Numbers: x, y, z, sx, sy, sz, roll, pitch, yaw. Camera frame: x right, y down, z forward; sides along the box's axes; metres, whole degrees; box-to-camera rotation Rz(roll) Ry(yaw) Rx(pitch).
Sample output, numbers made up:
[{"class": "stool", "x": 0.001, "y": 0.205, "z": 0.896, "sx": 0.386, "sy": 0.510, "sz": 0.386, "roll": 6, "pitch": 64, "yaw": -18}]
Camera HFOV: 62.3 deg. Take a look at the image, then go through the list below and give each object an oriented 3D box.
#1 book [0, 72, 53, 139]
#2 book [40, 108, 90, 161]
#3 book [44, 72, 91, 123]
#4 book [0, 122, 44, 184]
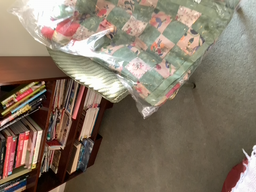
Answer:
[{"class": "book", "x": -0.580, "y": 0.040, "z": 1.170, "sx": 0.210, "sy": 0.190, "sz": 0.270, "roll": 33, "pitch": 117, "yaw": 30}, {"class": "book", "x": -0.460, "y": 0.270, "z": 1.540, "sx": 0.220, "sy": 0.230, "sz": 0.250, "roll": 34, "pitch": 118, "yaw": 30}, {"class": "book", "x": -0.390, "y": 0.000, "z": 1.360, "sx": 0.180, "sy": 0.180, "sz": 0.250, "roll": 33, "pitch": 116, "yaw": 30}, {"class": "book", "x": -0.660, "y": 0.330, "z": 1.270, "sx": 0.190, "sy": 0.200, "sz": 0.250, "roll": 33, "pitch": 117, "yaw": 30}]
